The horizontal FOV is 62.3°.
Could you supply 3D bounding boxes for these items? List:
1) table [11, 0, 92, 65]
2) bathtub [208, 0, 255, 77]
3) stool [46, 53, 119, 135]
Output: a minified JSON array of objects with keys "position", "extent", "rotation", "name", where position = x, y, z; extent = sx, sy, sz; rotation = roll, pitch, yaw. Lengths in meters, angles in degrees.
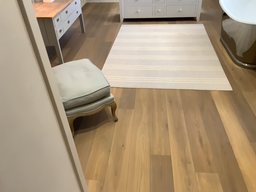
[{"position":[-1.200,-1.280,3.750],"extent":[0.650,0.790,1.540],"rotation":[2,37,6],"name":"table"},{"position":[1.820,-1.010,3.280],"extent":[0.770,0.690,1.570],"rotation":[3,38,8],"name":"bathtub"},{"position":[-0.510,-0.060,2.360],"extent":[0.540,0.460,0.740],"rotation":[-18,40,-20],"name":"stool"}]
